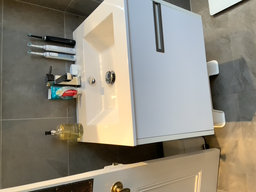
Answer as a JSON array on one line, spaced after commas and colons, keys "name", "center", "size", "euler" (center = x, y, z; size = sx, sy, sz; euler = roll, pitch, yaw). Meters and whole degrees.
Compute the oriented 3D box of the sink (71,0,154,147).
[{"name": "sink", "center": [-0.110, -0.100, 0.970], "size": [0.490, 0.110, 0.610], "euler": [-13, 78, 54]}]
